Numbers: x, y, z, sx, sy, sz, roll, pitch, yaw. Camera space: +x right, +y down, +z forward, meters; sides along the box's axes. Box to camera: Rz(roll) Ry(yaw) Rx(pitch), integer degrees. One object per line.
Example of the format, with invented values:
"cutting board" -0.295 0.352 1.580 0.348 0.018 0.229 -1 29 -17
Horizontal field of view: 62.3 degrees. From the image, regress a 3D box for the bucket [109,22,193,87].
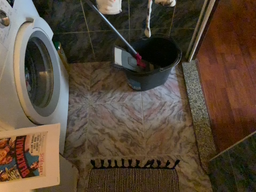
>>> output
"bucket" 0.130 -0.260 1.390 0.460 0.320 0.220 -7 63 -2
